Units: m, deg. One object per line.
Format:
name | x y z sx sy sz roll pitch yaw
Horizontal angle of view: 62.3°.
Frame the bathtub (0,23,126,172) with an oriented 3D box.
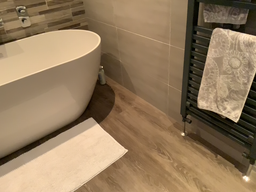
bathtub | -0.870 -0.020 1.610 1.490 0.570 0.800 -26 40 -28
